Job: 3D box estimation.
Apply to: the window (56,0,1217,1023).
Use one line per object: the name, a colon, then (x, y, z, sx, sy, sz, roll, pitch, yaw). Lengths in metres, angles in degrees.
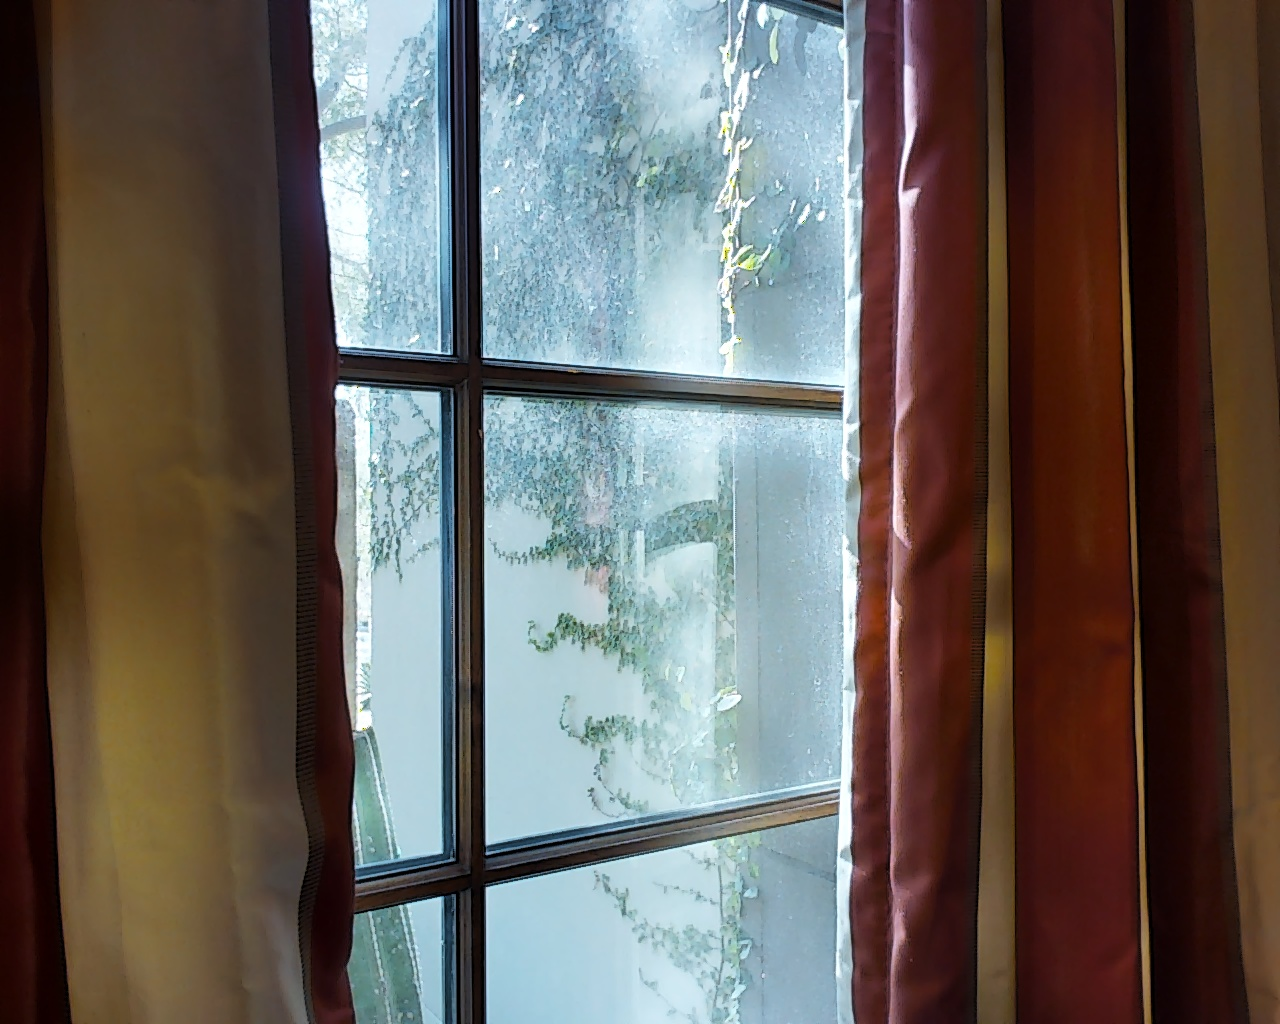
window: (-0.020, -0.080, 0.770, 0.670, 2.270, 0.490, 0, 0, -32)
